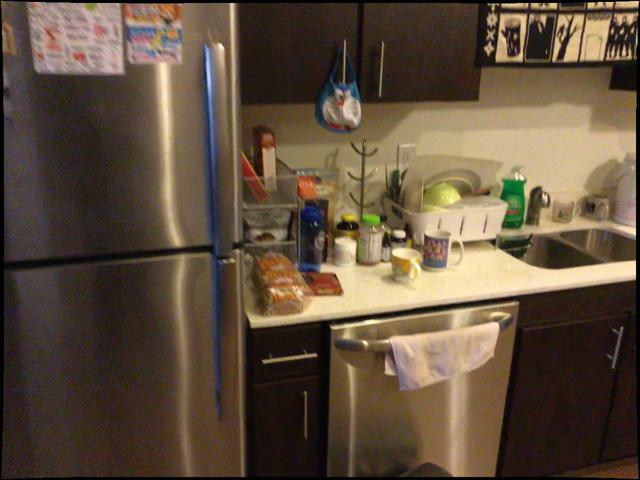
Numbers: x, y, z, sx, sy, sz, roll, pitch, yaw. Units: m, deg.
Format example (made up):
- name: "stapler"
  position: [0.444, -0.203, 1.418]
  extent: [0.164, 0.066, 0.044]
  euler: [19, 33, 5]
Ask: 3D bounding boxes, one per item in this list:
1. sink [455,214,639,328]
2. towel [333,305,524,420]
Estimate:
- name: "sink"
  position: [0.878, 0.090, 2.080]
  extent: [0.639, 0.200, 0.380]
  euler: [-5, 23, -17]
- name: "towel"
  position: [0.299, 0.331, 1.590]
  extent: [0.519, 0.230, 0.080]
  euler: [-5, 23, -17]
